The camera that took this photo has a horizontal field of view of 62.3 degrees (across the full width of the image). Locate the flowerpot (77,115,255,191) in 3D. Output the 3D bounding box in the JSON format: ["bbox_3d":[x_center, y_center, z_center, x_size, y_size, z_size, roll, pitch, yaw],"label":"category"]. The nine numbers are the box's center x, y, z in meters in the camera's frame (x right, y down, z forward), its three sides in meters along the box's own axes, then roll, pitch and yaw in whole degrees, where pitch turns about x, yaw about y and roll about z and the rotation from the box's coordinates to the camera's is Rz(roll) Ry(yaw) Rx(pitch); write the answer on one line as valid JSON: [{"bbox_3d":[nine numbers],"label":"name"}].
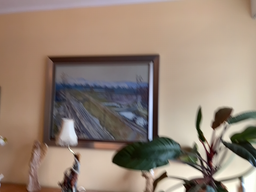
[{"bbox_3d":[0.310,0.420,1.120,0.850,0.610,0.850,0,-5,12],"label":"flowerpot"}]
